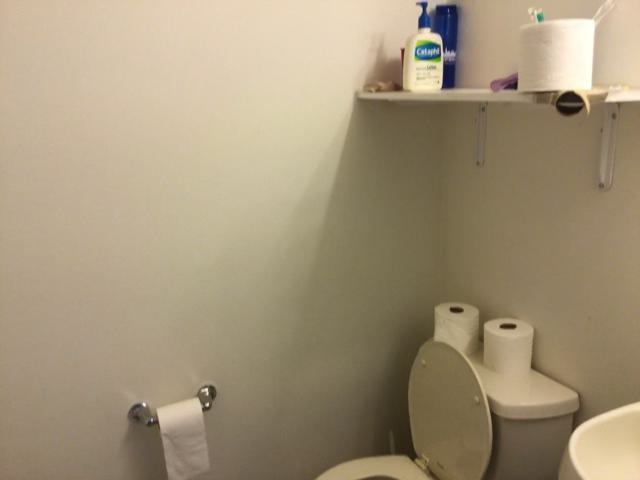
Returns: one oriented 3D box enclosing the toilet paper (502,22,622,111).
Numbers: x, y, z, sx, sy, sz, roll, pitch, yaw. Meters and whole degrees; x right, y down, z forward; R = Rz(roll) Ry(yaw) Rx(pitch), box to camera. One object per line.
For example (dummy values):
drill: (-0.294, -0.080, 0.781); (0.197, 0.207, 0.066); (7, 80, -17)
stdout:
toilet paper: (0.430, -0.310, 1.040); (0.130, 0.140, 0.140); (-10, 17, -23)

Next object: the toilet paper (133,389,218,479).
toilet paper: (-0.390, 0.560, 1.570); (0.180, 0.240, 0.110); (-10, 17, -23)
